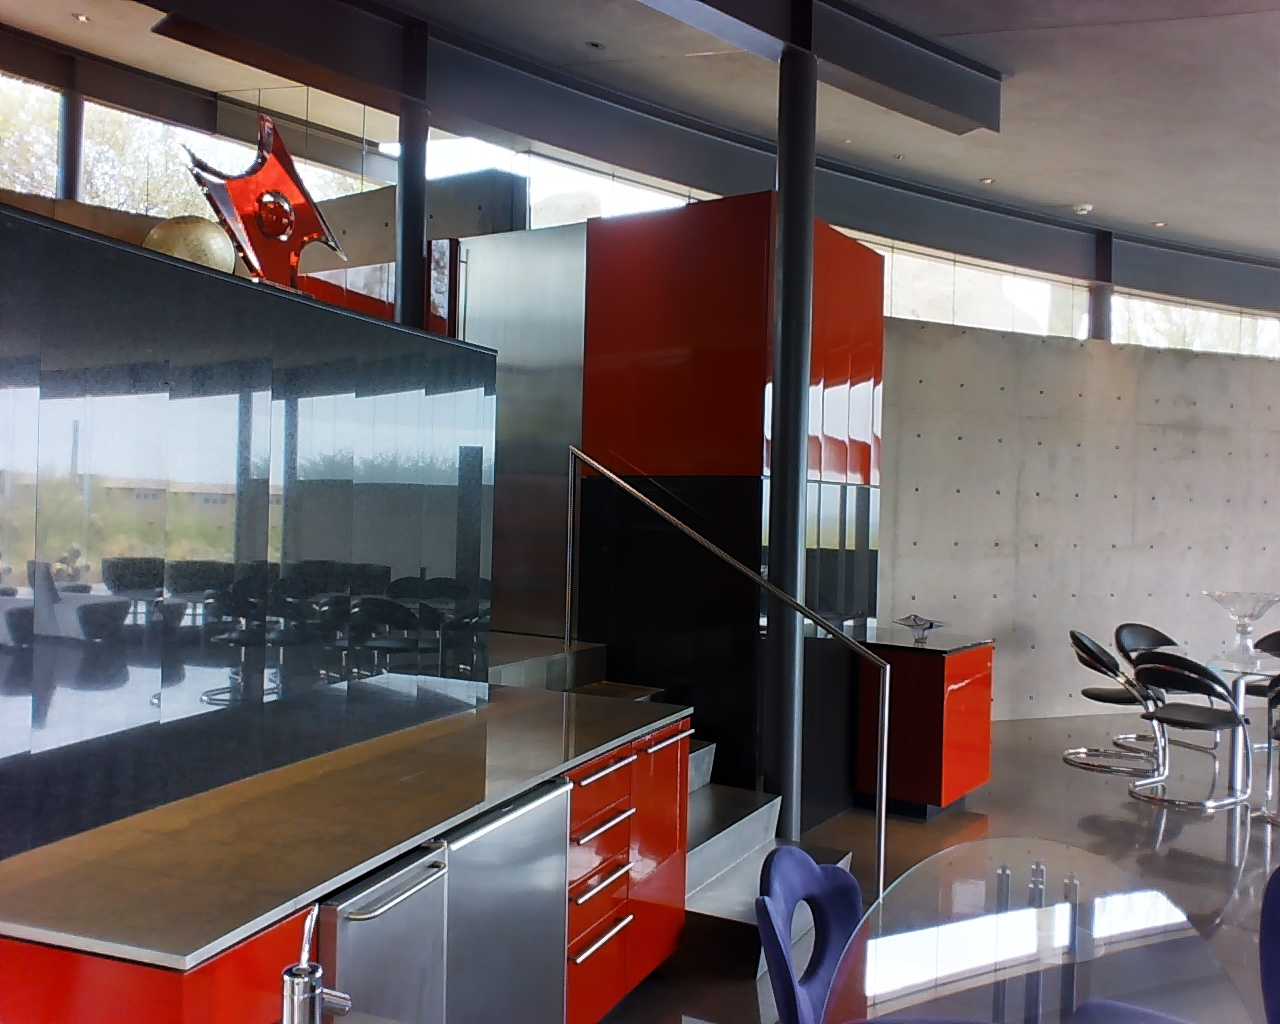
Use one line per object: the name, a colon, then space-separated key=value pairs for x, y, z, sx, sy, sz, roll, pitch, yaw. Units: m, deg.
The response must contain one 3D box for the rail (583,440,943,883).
rail: x=0.500 y=0.590 z=4.820 sx=1.580 sy=1.790 sz=0.150 roll=3 pitch=1 yaw=29
